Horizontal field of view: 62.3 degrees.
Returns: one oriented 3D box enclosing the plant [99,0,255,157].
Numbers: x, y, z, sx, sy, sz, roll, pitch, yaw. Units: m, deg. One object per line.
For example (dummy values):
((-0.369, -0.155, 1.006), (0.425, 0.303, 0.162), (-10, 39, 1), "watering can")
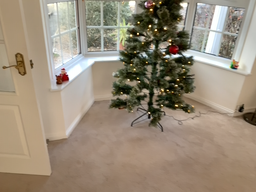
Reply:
((0.300, -0.500, 2.120), (1.060, 1.770, 1.060), (-4, 29, -13), "plant")
